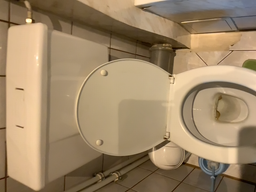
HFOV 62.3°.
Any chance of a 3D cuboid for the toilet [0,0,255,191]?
[{"bbox_3d":[0.180,0.040,0.800,0.700,0.920,0.460,8,96,33],"label":"toilet"}]
